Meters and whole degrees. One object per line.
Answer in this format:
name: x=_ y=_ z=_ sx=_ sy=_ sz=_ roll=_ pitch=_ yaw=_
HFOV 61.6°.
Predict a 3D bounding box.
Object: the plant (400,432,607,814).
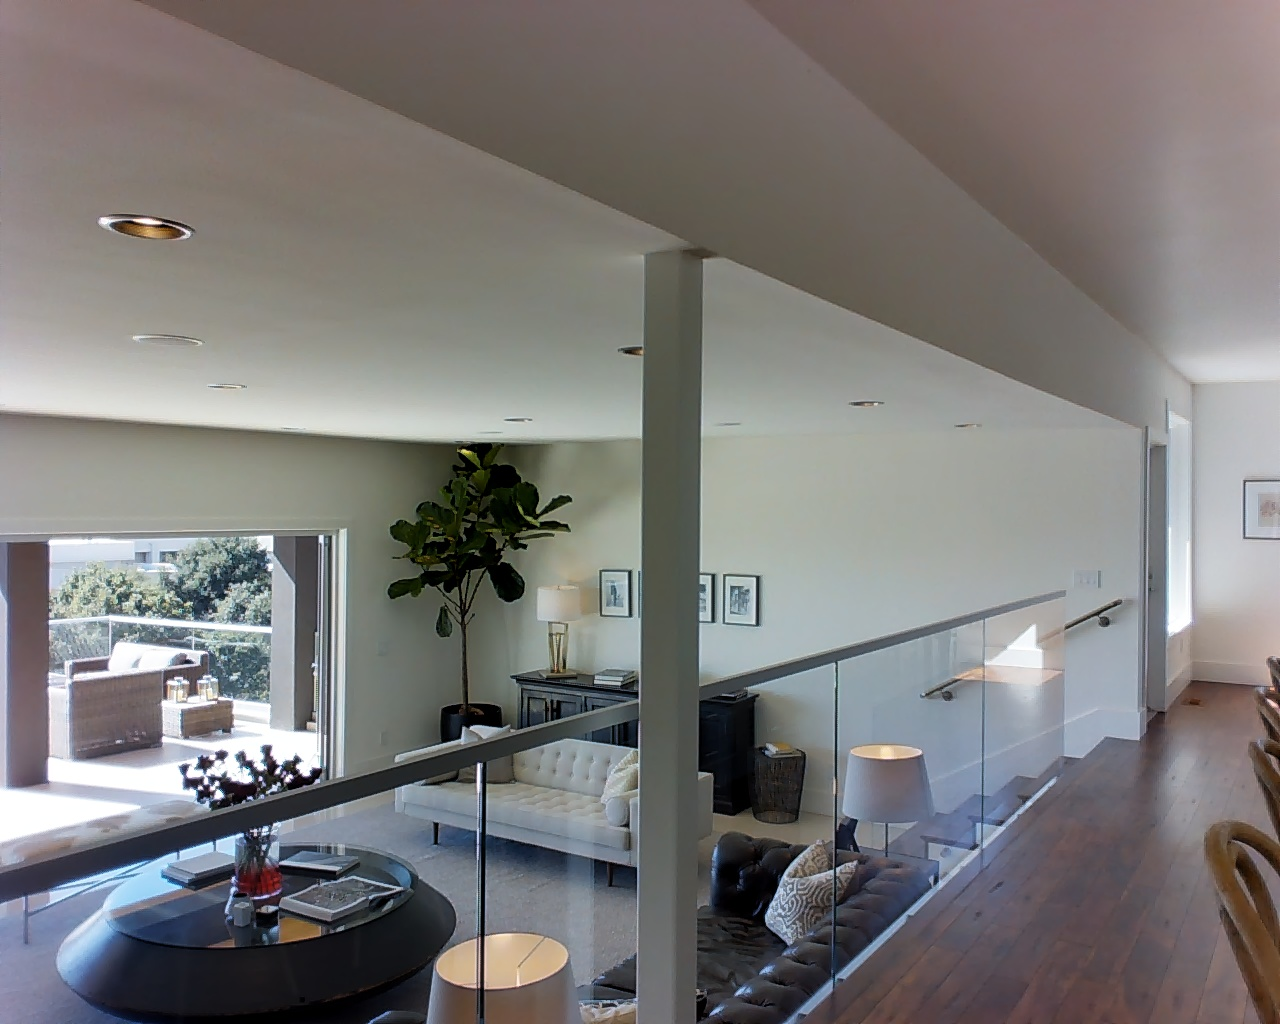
plant: x=-1.290 y=0.890 z=9.750 sx=1.050 sy=3.070 sz=1.990 roll=1 pitch=0 yaw=-34
